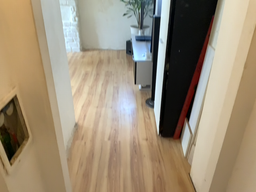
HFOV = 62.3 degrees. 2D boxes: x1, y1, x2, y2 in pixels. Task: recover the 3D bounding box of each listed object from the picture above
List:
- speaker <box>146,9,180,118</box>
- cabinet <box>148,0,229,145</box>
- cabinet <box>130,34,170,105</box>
[{"bbox_3d":[0.370,-0.320,2.430,0.250,1.230,0.200,1,29,0],"label":"speaker"},{"bbox_3d":[0.490,-0.480,1.900,0.390,1.890,0.550,2,29,-2],"label":"cabinet"},{"bbox_3d":[0.270,-0.510,3.390,0.380,0.600,1.540,-1,29,-3],"label":"cabinet"}]
